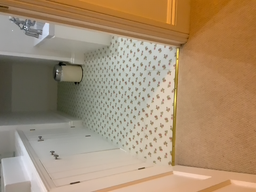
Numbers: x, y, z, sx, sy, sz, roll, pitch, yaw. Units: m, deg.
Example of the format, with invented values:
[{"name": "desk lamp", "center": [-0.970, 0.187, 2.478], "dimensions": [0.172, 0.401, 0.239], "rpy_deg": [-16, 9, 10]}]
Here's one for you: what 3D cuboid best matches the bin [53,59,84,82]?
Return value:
[{"name": "bin", "center": [-0.720, -0.300, 2.570], "dimensions": [0.200, 0.320, 0.230], "rpy_deg": [1, 90, 57]}]
